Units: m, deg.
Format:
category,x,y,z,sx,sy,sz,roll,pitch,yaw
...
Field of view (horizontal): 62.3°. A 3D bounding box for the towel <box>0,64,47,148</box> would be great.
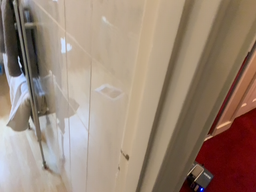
category,x,y,z,sx,sy,sz,roll,pitch,yaw
towel,-0.710,0.060,1.420,0.190,0.420,0.330,-15,42,-30
